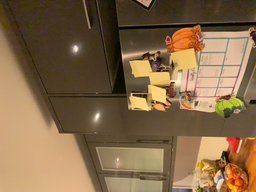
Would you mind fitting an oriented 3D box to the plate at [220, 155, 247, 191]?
[{"bbox_3d":[0.900,0.710,1.840,0.270,0.090,0.270,-82,-11,-50],"label":"plate"}]
